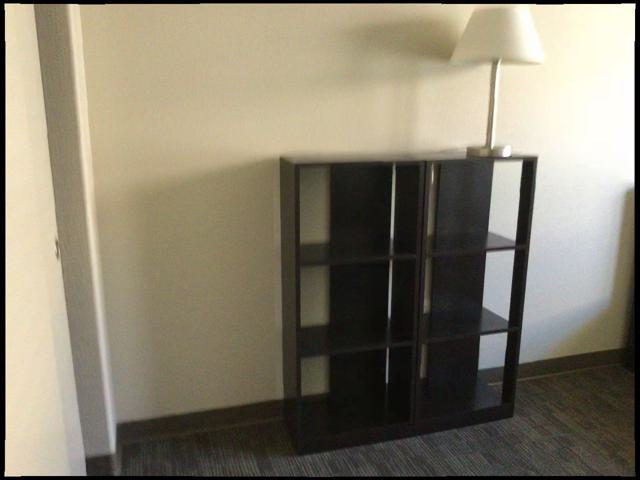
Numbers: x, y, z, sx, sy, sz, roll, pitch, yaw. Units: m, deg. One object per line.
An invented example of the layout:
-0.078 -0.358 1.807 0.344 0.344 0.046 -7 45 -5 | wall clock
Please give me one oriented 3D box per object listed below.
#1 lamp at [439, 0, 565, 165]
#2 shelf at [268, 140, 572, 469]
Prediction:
0.729 -0.641 2.380 0.299 0.601 0.350 -5 16 -18 | lamp
0.399 0.220 2.540 1.158 1.232 0.460 -5 16 -18 | shelf
